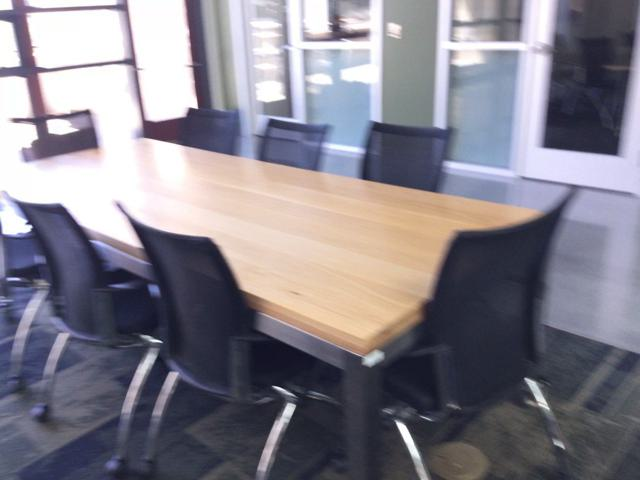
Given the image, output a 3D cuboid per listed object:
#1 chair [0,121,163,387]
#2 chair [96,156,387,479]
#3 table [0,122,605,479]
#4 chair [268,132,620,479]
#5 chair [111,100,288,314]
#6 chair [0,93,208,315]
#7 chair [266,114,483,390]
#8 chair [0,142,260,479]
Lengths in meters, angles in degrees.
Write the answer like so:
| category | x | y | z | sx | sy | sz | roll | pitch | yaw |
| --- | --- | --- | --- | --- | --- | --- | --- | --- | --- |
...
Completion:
| category | x | y | z | sx | sy | sz | roll | pitch | yaw |
| --- | --- | --- | --- | --- | --- | --- | --- | --- | --- |
| chair | -1.170 | 0.020 | 2.560 | 0.560 | 0.930 | 0.580 | -24 | 31 | -39 |
| chair | -0.200 | 0.280 | 1.770 | 0.560 | 0.890 | 0.570 | -24 | 31 | -39 |
| table | -0.390 | 0.140 | 2.370 | 1.080 | 0.780 | 2.500 | -24 | 31 | -39 |
| chair | 0.330 | 0.280 | 1.640 | 0.590 | 0.990 | 0.640 | -24 | 31 | -39 |
| chair | -0.610 | -0.210 | 3.040 | 0.560 | 0.900 | 0.600 | -24 | 31 | -39 |
| chair | -1.180 | -0.250 | 3.210 | 0.750 | 0.950 | 0.630 | -24 | 31 | -39 |
| chair | 0.230 | 0.000 | 2.330 | 0.600 | 0.850 | 0.550 | -24 | 31 | -39 |
| chair | -0.670 | 0.200 | 2.070 | 0.590 | 0.920 | 0.570 | -24 | 31 | -39 |
